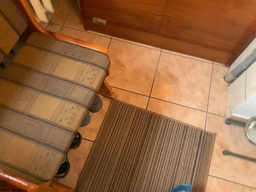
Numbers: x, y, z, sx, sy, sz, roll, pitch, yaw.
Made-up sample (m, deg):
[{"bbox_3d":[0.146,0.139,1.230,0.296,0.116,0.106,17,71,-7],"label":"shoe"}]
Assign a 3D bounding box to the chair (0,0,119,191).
[{"bbox_3d":[-0.390,-0.030,0.820,0.510,0.810,0.620,20,67,5],"label":"chair"}]
